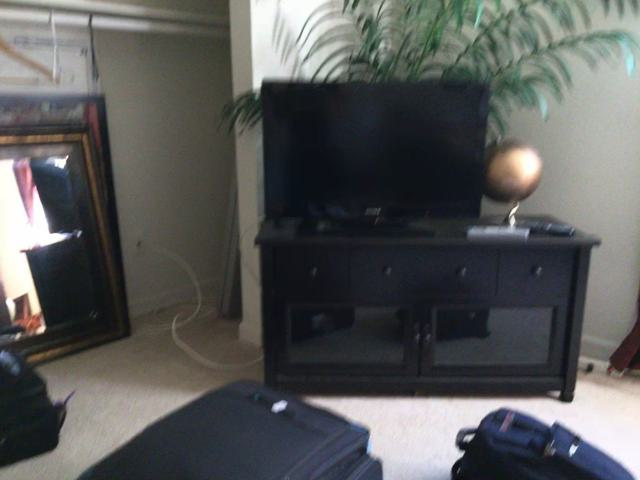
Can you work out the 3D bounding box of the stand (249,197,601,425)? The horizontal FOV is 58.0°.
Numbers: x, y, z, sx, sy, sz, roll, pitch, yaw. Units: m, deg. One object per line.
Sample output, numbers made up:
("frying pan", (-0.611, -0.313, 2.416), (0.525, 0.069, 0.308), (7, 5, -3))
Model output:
("stand", (0.350, 0.230, 2.140), (1.090, 0.640, 0.480), (6, 0, 3))
